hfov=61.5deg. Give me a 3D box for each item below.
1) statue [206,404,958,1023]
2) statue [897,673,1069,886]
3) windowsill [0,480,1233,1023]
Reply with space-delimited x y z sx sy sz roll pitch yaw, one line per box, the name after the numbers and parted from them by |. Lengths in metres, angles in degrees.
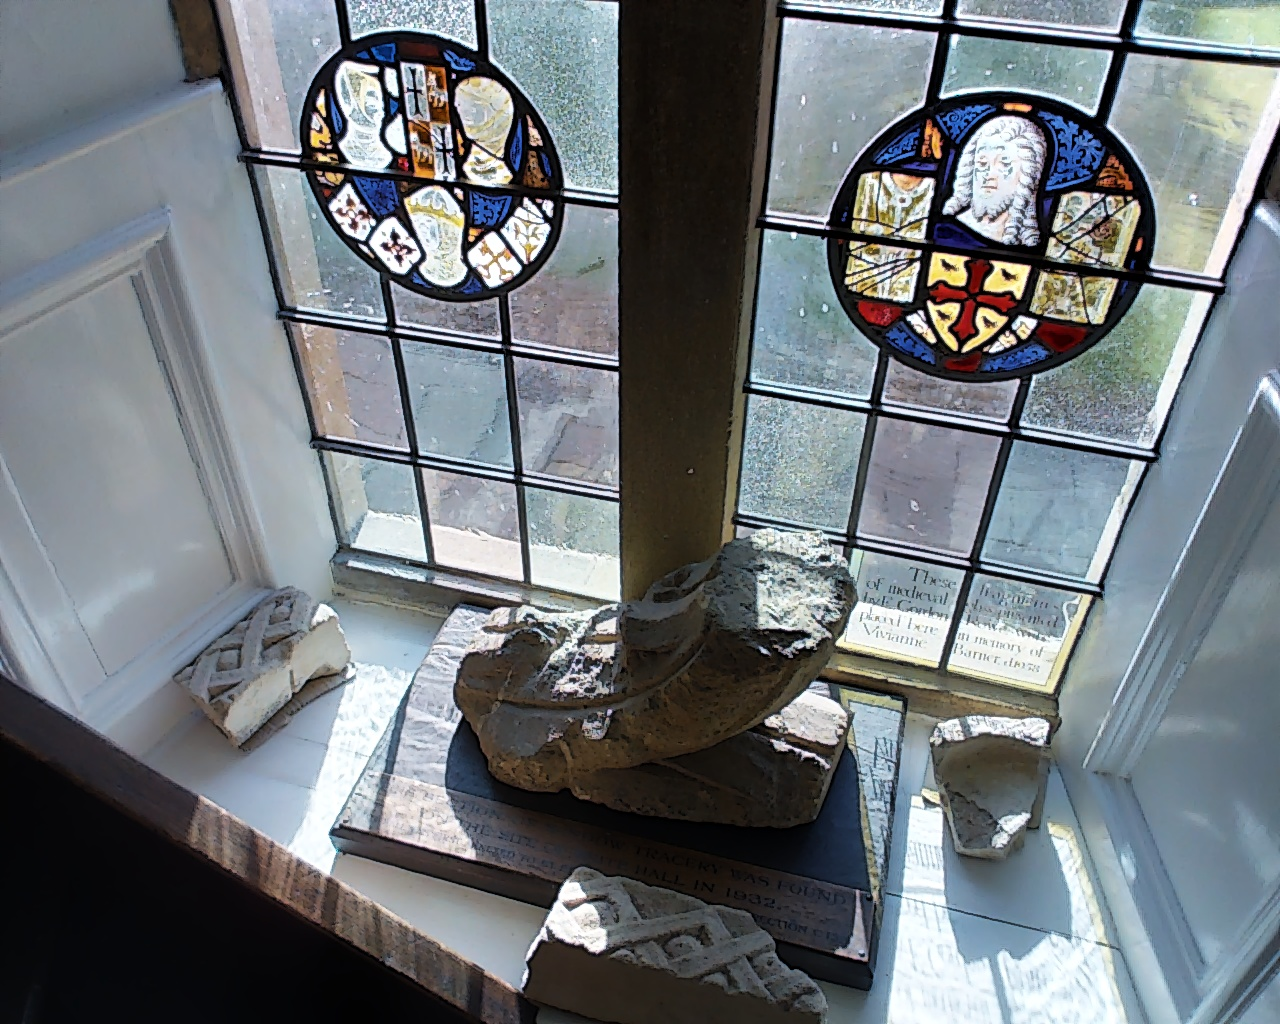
-0.010 0.260 1.250 0.640 0.430 0.570 10 41 10 | statue
0.440 0.340 1.390 0.180 0.110 0.210 10 41 10 | statue
-0.030 0.330 1.380 1.380 0.140 0.660 10 41 10 | windowsill
